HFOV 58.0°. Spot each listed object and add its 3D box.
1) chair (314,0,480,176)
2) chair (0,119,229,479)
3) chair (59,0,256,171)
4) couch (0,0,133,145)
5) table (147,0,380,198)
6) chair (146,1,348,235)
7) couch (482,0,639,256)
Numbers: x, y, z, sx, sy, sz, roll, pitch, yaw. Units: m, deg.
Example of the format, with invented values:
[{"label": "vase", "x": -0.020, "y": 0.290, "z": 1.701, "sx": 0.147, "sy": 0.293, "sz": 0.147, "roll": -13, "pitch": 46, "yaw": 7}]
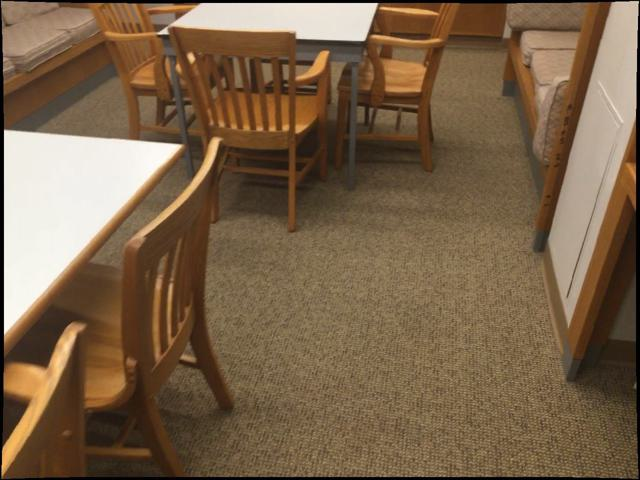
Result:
[{"label": "chair", "x": 0.369, "y": -0.892, "z": 2.810, "sx": 0.619, "sy": 0.871, "sz": 0.680, "roll": 9, "pitch": 32, "yaw": 6}, {"label": "chair", "x": -0.539, "y": 0.231, "z": 1.320, "sx": 0.529, "sy": 0.821, "sz": 0.440, "roll": 10, "pitch": 32, "yaw": 6}, {"label": "chair", "x": -0.758, "y": -0.882, "z": 2.910, "sx": 0.589, "sy": 0.862, "sz": 0.620, "roll": -1, "pitch": 30, "yaw": 12}, {"label": "couch", "x": -1.836, "y": -1.103, "z": 3.270, "sx": 0.579, "sy": 0.771, "sz": 1.761, "roll": 2, "pitch": 31, "yaw": 13}, {"label": "table", "x": -0.190, "y": -0.822, "z": 2.910, "sx": 0.878, "sy": 0.751, "sz": 0.981, "roll": 5, "pitch": 37, "yaw": 8}, {"label": "chair", "x": -0.249, "y": -0.561, "z": 2.490, "sx": 0.639, "sy": 0.822, "sz": 0.680, "roll": 4, "pitch": 26, "yaw": 9}, {"label": "couch", "x": 1.257, "y": -0.852, "z": 2.730, "sx": 0.649, "sy": 1.012, "sz": 1.821, "roll": 8, "pitch": 32, "yaw": 7}]
